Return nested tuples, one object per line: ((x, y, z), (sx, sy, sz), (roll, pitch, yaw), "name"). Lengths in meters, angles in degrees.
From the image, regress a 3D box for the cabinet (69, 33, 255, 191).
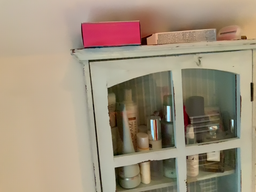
((0.110, 0.200, 0.500), (0.400, 0.640, 0.150), (-6, 8, -11), "cabinet")
